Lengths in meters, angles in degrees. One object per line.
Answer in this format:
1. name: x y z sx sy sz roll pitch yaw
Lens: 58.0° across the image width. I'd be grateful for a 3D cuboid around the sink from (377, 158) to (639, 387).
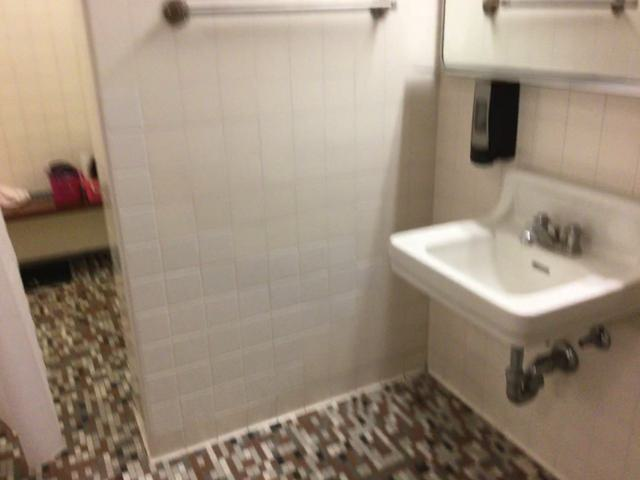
1. sink: 0.480 0.030 1.440 0.460 0.340 0.510 -11 21 -27
